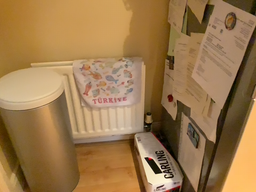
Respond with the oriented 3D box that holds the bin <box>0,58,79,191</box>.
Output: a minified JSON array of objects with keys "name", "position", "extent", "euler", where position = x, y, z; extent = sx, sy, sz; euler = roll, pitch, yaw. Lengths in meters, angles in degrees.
[{"name":"bin","position":[-0.470,0.180,1.100],"extent":[0.310,0.650,0.340],"euler":[-2,33,-4]}]
